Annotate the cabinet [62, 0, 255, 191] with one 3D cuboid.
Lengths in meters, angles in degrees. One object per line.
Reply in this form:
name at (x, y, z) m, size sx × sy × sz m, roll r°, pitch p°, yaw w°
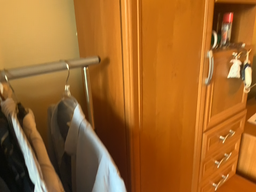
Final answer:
cabinet at (0.250, -0.140, 0.950) m, size 0.870 × 1.450 × 0.460 m, roll -17°, pitch 24°, yaw -36°
